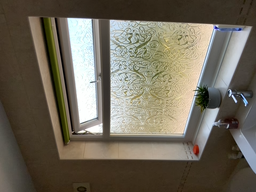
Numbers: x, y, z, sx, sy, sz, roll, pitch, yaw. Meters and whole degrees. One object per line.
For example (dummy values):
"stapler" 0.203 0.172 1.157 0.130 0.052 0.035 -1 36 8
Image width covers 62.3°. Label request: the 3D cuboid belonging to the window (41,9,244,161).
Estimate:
"window" 0.060 -0.020 1.670 0.390 1.160 1.110 -94 7 -57
